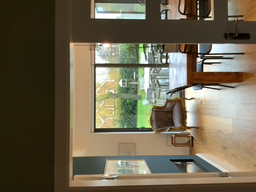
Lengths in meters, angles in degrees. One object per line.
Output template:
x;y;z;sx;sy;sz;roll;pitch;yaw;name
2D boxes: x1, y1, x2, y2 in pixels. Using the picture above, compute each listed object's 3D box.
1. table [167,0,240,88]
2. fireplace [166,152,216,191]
1.140;-1.710;3.440;0.990;0.780;3.080;163;108;-86;table
0.920;1.170;3.270;0.940;0.440;0.400;156;114;-86;fireplace
